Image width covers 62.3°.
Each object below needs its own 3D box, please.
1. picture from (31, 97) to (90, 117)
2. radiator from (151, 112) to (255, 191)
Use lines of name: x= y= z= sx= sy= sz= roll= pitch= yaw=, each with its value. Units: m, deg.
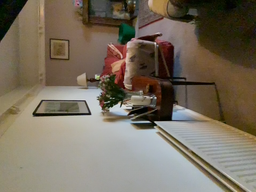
picture: x=-0.900 y=0.120 z=2.910 sx=0.960 sy=0.650 sz=0.090 roll=-154 pitch=65 yaw=-72
radiator: x=0.770 y=0.310 z=1.610 sx=1.110 sy=0.820 sz=0.100 roll=-151 pitch=62 yaw=-71
